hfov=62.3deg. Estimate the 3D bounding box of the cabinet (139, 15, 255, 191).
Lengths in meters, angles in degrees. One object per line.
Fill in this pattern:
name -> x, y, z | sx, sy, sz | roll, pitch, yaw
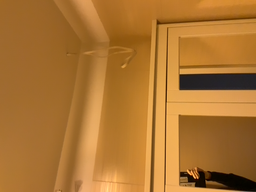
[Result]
cabinet -> 0.570, 0.060, 0.860 | 0.150, 0.990, 0.830 | 62, -148, -68
